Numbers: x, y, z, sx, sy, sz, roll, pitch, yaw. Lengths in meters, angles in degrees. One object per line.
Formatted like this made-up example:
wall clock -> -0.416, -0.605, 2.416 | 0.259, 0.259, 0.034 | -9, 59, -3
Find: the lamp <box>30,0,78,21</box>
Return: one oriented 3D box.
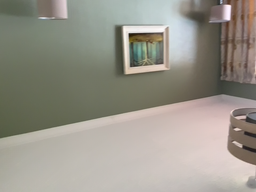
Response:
lamp -> -0.660, -0.920, 1.810 | 0.320, 0.480, 0.390 | -9, -165, -26
